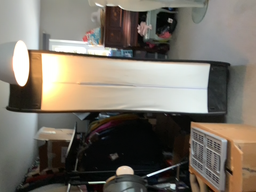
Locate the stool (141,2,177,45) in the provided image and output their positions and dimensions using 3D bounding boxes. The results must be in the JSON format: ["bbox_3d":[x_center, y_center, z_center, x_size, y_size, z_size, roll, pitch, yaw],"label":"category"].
[{"bbox_3d":[0.530,-1.260,3.740,0.350,0.510,0.600,-166,78,-78],"label":"stool"}]

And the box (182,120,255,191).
[{"bbox_3d":[0.830,0.470,1.640,0.600,0.550,0.410,-140,53,-75],"label":"box"}]

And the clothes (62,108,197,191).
[{"bbox_3d":[-0.150,0.580,2.890,1.940,1.240,0.550,-156,69,-77],"label":"clothes"}]
